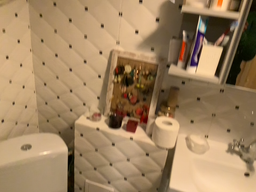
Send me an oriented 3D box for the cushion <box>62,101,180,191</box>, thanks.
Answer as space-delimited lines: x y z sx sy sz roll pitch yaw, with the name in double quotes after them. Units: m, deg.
-0.080 0.550 1.260 0.550 0.930 0.220 13 26 11 "cushion"
